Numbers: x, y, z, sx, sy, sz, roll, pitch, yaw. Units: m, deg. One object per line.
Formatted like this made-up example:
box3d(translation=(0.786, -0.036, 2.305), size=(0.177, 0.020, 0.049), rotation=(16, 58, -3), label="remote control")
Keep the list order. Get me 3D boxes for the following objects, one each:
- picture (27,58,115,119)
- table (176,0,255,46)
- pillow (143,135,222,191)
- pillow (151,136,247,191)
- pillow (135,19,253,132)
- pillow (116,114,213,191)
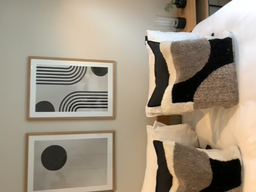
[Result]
box3d(translation=(-0.470, -0.060, 1.820), size=(0.020, 0.720, 0.500), rotation=(154, 116, -75), label="picture")
box3d(translation=(0.820, -0.760, 2.010), size=(0.310, 0.630, 0.450), rotation=(158, 112, -76), label="table")
box3d(translation=(0.380, 0.560, 1.470), size=(0.220, 0.400, 0.480), rotation=(155, 103, -75), label="pillow")
box3d(translation=(0.430, 0.540, 1.230), size=(0.470, 0.390, 0.210), rotation=(68, 165, 2), label="pillow")
box3d(translation=(0.400, -0.120, 1.360), size=(0.510, 0.480, 0.320), rotation=(67, 165, -1), label="pillow")
box3d(translation=(0.290, 0.560, 1.710), size=(0.680, 0.510, 0.260), rotation=(68, 165, -2), label="pillow")
